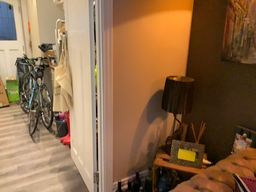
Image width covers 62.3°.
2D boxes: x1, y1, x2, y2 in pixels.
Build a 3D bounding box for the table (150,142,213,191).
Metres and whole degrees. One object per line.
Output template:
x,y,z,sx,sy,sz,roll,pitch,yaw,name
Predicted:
0.460,0.770,1.870,0.460,0.550,0.320,9,19,20,table
